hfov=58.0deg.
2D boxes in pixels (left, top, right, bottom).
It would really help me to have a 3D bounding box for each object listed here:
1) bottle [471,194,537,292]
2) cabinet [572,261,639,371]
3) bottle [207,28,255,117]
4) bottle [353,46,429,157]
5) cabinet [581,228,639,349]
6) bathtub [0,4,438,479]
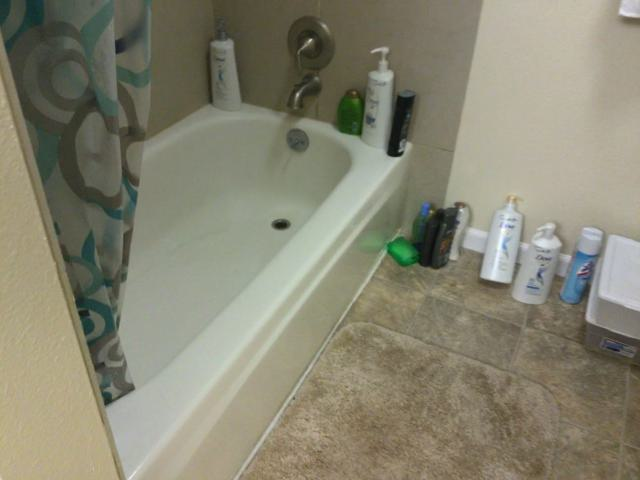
[{"bbox_3d":[0.600,0.010,1.890,0.130,0.250,0.160,17,38,22],"label":"bottle"},{"bbox_3d":[0.890,0.220,1.690,0.220,0.140,0.270,17,38,22],"label":"cabinet"},{"bbox_3d":[-0.310,-0.590,2.040,0.120,0.270,0.090,17,38,22],"label":"bottle"},{"bbox_3d":[0.220,-0.440,1.840,0.200,0.300,0.090,17,38,22],"label":"bottle"},{"bbox_3d":[0.910,0.140,1.630,0.250,0.130,0.360,17,38,22],"label":"cabinet"},{"bbox_3d":[-0.330,-0.050,1.550,0.770,0.750,1.440,17,38,22],"label":"bathtub"}]
